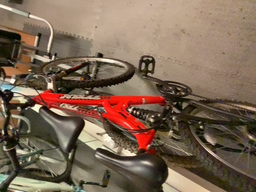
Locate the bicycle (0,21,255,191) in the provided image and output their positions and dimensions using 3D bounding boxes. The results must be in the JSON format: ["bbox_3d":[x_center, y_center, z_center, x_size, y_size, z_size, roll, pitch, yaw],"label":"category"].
[{"bbox_3d":[0.030,0.090,1.120,1.720,0.720,0.550,21,100,33],"label":"bicycle"}]
